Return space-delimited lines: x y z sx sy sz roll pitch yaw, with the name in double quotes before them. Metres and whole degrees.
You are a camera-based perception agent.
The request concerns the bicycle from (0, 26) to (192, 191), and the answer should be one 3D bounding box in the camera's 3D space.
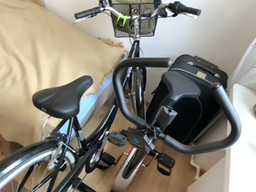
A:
"bicycle" -0.160 0.230 1.250 0.390 0.730 1.660 31 41 8
